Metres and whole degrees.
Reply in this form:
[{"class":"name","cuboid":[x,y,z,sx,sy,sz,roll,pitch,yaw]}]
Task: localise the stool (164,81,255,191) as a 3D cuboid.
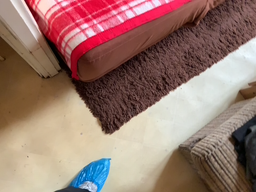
[{"class":"stool","cuboid":[0.490,0.200,0.900,0.480,0.350,0.340,-33,88,-12]}]
